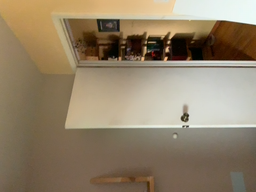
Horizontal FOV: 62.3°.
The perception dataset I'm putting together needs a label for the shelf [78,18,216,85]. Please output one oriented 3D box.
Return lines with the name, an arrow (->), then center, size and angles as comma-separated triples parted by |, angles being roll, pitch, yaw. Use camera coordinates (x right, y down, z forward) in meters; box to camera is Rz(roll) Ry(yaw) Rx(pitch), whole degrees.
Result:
shelf -> 0.280, -0.770, 4.100 | 1.380, 2.210, 0.530 | 100, 171, -68
